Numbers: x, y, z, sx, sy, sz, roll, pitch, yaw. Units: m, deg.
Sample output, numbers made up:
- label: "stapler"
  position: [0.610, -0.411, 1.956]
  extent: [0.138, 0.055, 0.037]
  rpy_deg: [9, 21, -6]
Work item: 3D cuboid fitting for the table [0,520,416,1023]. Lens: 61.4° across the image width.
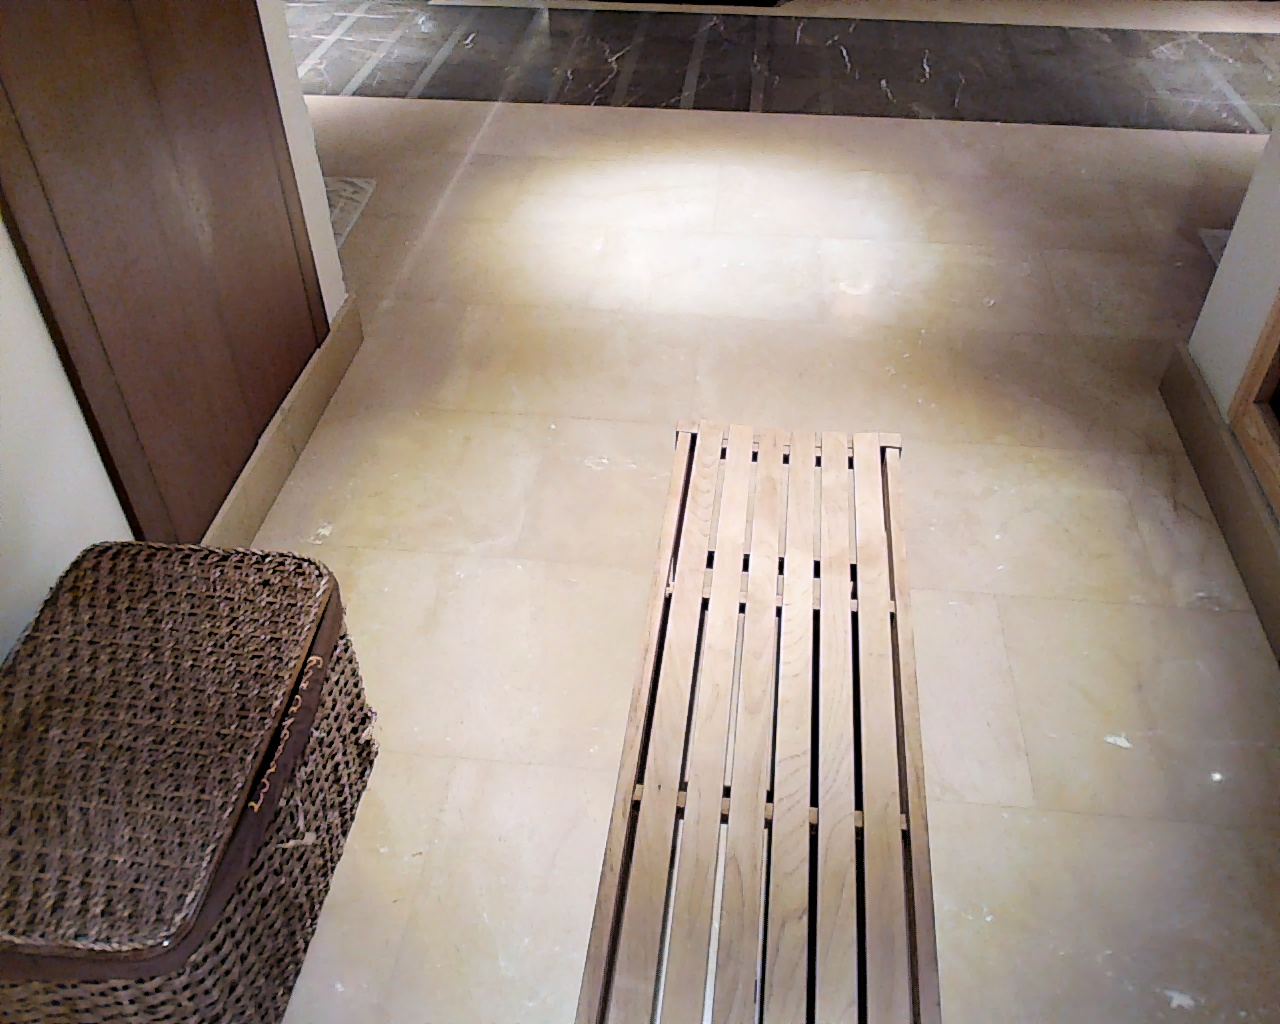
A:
- label: "table"
  position: [-0.700, 0.440, 1.620]
  extent: [0.490, 0.480, 0.700]
  rpy_deg: [4, 42, 4]
